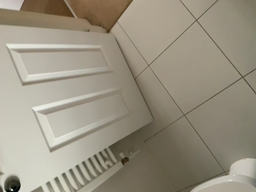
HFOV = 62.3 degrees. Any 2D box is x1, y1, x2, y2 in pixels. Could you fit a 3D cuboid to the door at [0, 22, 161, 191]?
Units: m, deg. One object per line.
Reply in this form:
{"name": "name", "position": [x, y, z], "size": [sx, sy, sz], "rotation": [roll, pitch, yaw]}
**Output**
{"name": "door", "position": [-0.520, 0.060, 0.720], "size": [0.050, 2.040, 0.740], "rotation": [-30, 82, 36]}
